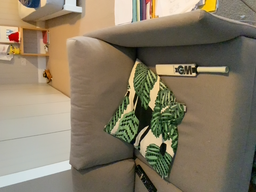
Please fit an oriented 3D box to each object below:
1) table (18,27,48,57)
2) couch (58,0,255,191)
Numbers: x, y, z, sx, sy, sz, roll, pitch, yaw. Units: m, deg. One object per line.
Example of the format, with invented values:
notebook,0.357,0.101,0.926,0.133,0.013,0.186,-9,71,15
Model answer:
table,-1.880,-1.060,4.210,0.290,0.490,0.540,21,112,53
couch,0.130,0.430,1.240,0.890,0.760,1.610,19,110,53
